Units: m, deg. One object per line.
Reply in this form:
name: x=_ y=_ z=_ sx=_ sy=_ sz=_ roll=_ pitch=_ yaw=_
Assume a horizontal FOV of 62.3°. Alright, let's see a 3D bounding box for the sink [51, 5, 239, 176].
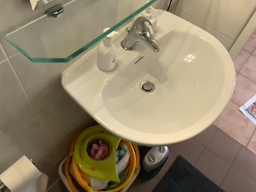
sink: x=0.090 y=-0.070 z=0.890 sx=0.390 sy=0.230 sz=0.640 roll=40 pitch=60 yaw=19
